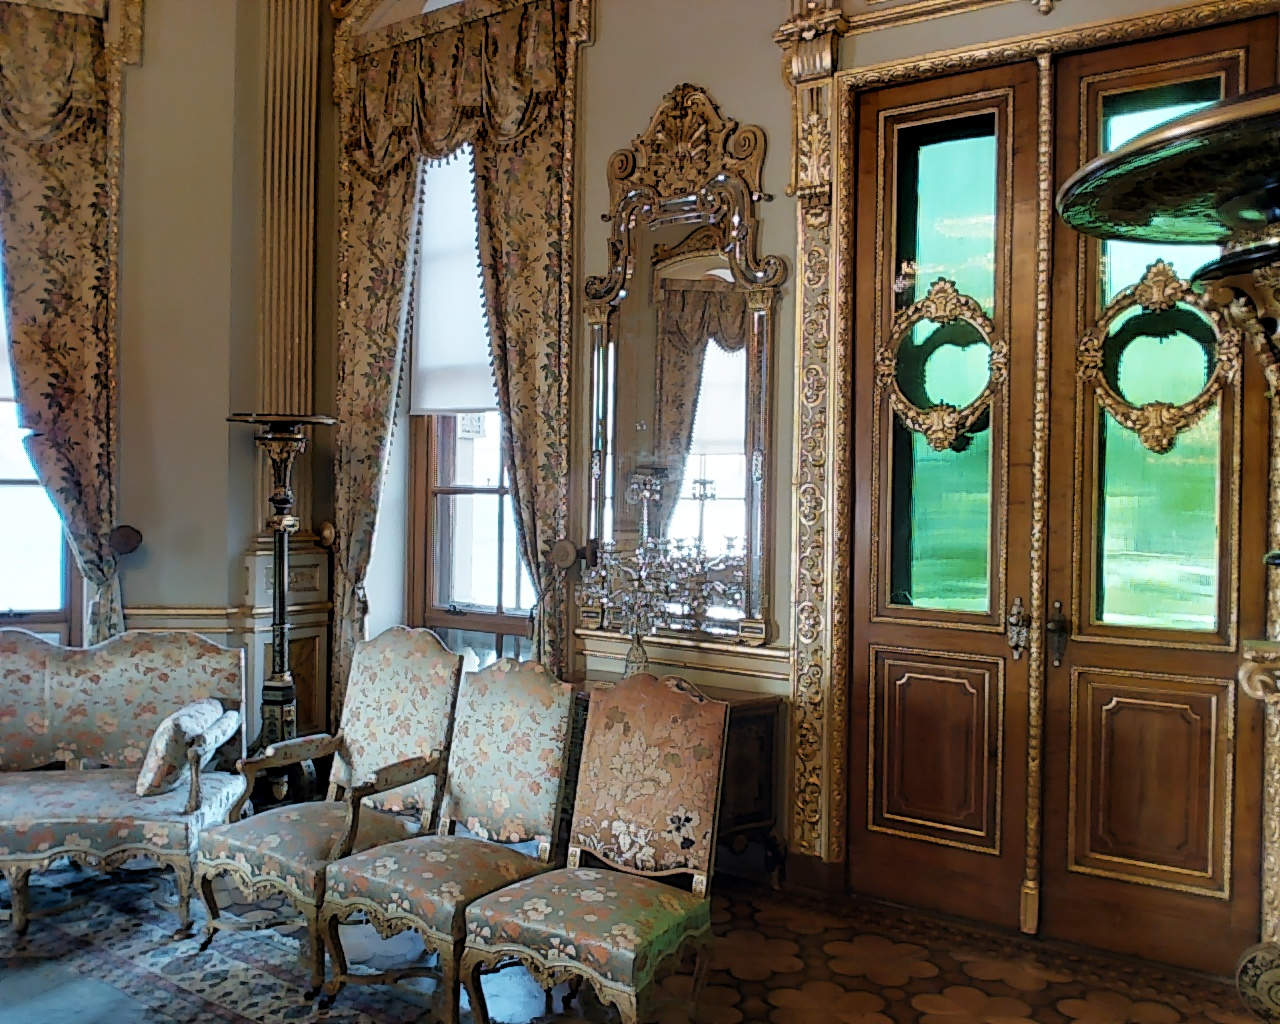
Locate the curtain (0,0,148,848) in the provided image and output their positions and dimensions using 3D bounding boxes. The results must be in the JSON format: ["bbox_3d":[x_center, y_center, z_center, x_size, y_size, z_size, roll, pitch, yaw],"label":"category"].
[{"bbox_3d":[-3.508,-0.520,5.290,1.929,4.372,0.170,1,0,-22],"label":"curtain"}]

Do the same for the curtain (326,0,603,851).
[{"bbox_3d":[-1.000,-0.500,5.780,1.809,4.262,0.180,1,0,35],"label":"curtain"}]
